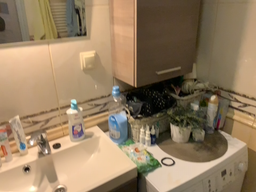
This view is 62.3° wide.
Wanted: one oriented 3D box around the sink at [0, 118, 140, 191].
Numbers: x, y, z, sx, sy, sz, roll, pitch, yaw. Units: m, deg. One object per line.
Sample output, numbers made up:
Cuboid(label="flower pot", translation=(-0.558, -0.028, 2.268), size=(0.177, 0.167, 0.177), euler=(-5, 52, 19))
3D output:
Cuboid(label="sink", translation=(-0.310, 0.320, 0.940), size=(0.600, 0.120, 0.410), euler=(-16, 28, -30))
